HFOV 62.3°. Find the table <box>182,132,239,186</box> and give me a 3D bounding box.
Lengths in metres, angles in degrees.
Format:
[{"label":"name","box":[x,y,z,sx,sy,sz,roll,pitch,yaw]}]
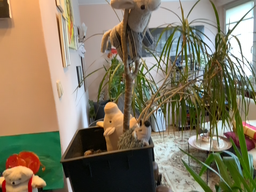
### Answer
[{"label":"table","box":[0.980,0.740,2.590,0.470,0.410,0.470,-6,11,-8]}]
